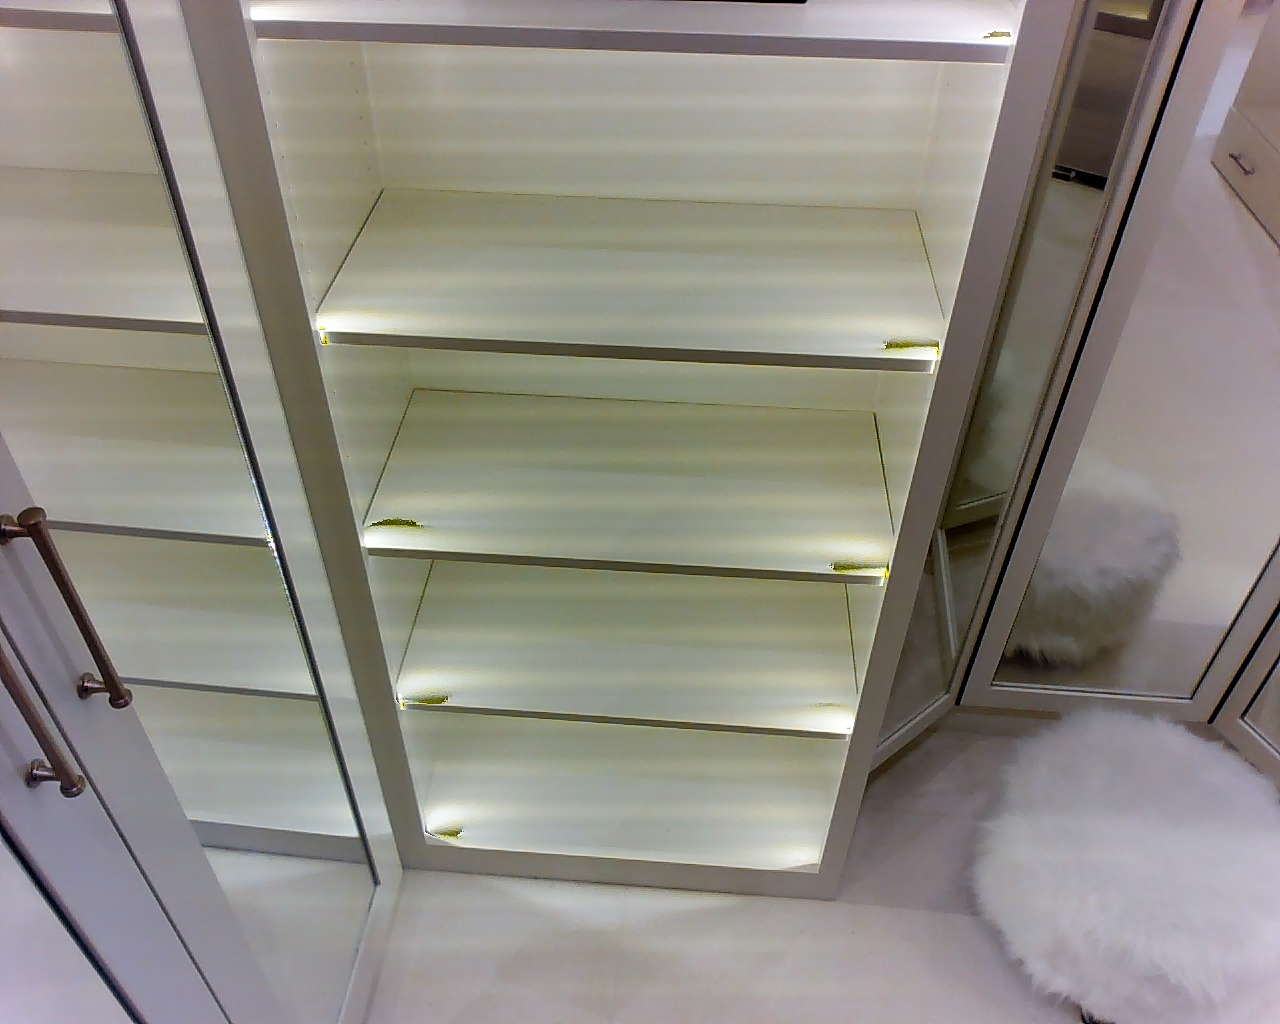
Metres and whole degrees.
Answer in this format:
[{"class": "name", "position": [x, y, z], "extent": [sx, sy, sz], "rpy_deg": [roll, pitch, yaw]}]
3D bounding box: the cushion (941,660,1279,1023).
[{"class": "cushion", "position": [0.790, 0.550, 1.660], "extent": [0.510, 0.330, 0.510], "rpy_deg": [3, 42, 3]}]
